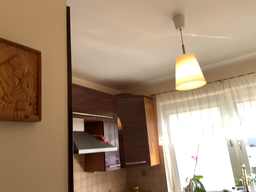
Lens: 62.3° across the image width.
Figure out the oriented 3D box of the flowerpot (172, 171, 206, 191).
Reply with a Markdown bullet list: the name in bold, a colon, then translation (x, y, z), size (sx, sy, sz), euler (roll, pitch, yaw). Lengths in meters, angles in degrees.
- **flowerpot**: translation (0.820, 1.200, 2.850), size (0.370, 0.340, 0.200), euler (-14, -16, 33)

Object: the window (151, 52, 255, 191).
- **window**: translation (1.240, 0.460, 2.600), size (1.880, 1.790, 0.180), euler (-13, -16, 32)
